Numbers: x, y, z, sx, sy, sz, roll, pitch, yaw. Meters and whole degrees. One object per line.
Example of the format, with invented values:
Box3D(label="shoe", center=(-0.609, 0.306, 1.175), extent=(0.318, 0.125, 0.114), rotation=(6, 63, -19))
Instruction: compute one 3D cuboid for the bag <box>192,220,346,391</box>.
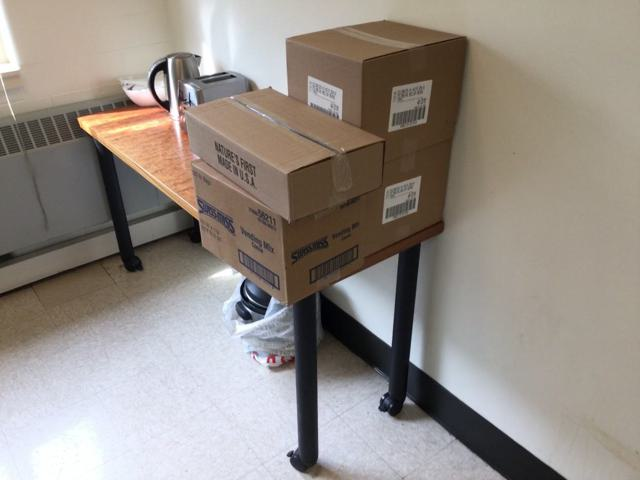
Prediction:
Box3D(label="bag", center=(-0.180, 0.220, 2.110), extent=(0.390, 0.370, 0.380), rotation=(-22, 37, -32))

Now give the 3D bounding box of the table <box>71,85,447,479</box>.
Box3D(label="table", center=(-0.320, 0.020, 2.090), extent=(0.510, 0.740, 1.480), rotation=(-22, 37, -32))

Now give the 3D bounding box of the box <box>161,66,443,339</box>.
Box3D(label="box", center=(-0.050, -0.130, 1.390), extent=(0.440, 0.410, 0.460), rotation=(-22, 37, -32))
